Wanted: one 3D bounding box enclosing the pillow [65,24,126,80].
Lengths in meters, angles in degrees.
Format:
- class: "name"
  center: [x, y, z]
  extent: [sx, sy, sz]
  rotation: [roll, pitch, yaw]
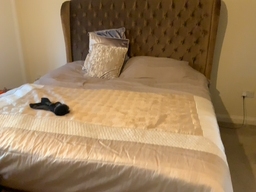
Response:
- class: "pillow"
  center: [-0.370, -0.530, 2.680]
  extent: [0.540, 0.710, 0.240]
  rotation: [7, 59, 15]
